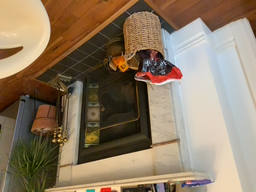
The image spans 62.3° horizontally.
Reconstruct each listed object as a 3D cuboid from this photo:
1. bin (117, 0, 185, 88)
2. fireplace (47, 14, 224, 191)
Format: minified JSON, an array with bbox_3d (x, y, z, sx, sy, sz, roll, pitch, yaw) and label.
[{"bbox_3d":[0.170,-0.380,1.620,0.280,0.450,0.430,-23,149,36],"label":"bin"},{"bbox_3d":[-0.120,0.220,2.010,1.630,1.200,0.370,-24,148,37],"label":"fireplace"}]
